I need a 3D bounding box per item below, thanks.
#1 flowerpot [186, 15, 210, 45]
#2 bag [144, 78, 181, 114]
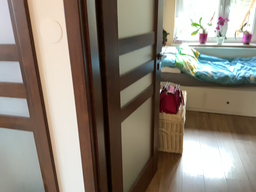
[{"bbox_3d":[1.300,-1.240,3.960,0.360,0.500,0.330,5,22,14],"label":"flowerpot"},{"bbox_3d":[0.380,-0.010,2.300,0.350,0.250,0.360,5,22,14],"label":"bag"}]
